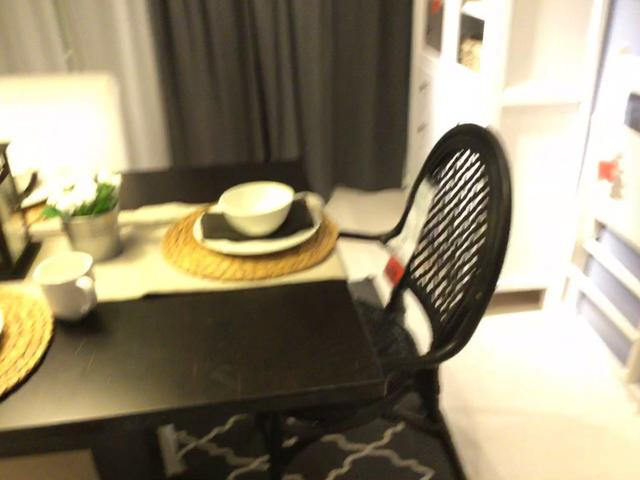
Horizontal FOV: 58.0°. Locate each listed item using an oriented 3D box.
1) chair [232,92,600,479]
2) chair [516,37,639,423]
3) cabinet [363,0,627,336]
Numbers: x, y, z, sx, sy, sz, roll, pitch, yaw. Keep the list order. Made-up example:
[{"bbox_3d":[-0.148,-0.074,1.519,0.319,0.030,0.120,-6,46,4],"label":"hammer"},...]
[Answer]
[{"bbox_3d":[0.120,0.130,1.320,0.570,0.780,0.580,-4,28,-8],"label":"chair"},{"bbox_3d":[0.850,-0.050,1.700,0.110,0.950,0.630,-4,28,-8],"label":"chair"},{"bbox_3d":[0.550,-0.870,2.150,0.440,2.090,1.200,-4,28,-8],"label":"cabinet"}]
